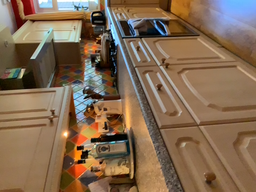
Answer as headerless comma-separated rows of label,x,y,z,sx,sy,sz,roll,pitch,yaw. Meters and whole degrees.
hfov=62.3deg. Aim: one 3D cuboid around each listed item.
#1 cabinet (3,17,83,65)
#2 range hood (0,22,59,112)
cabinet,-1.130,-0.850,3.100,1.120,0.870,0.310,-106,14,-56
range hood,-1.100,-0.330,2.080,0.840,0.630,0.550,-106,14,-55
